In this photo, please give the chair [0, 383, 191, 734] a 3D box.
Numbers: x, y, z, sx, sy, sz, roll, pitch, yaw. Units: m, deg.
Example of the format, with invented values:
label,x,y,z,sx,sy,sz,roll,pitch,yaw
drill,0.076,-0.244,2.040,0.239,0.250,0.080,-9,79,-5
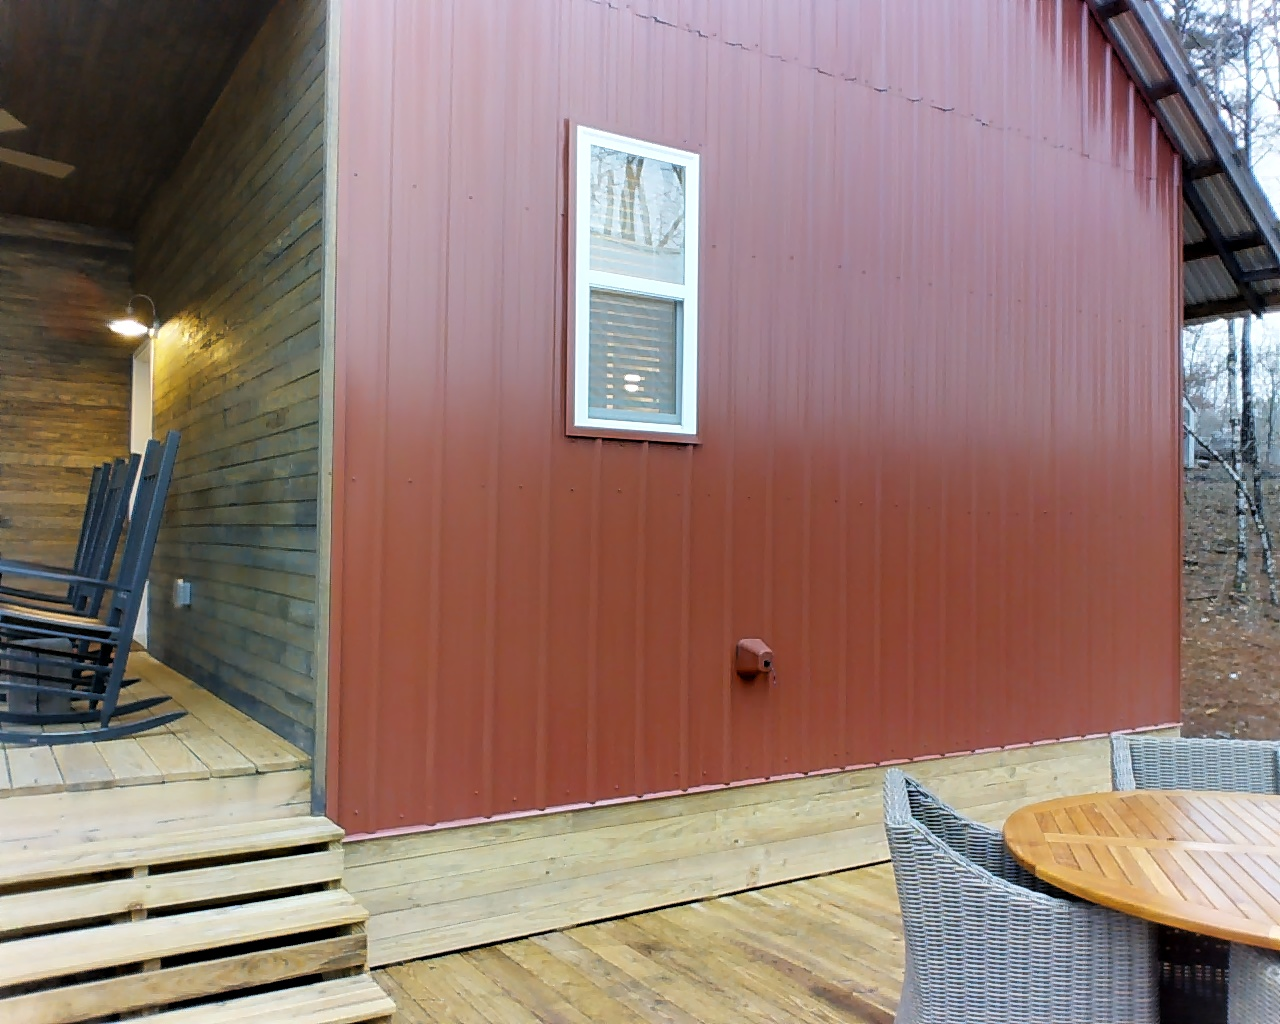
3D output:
label,x,y,z,sx,sy,sz,roll,pitch,yaw
chair,-2.260,0.210,4.300,0.740,1.270,0.700,1,-9,-32
